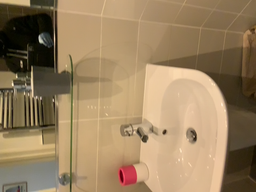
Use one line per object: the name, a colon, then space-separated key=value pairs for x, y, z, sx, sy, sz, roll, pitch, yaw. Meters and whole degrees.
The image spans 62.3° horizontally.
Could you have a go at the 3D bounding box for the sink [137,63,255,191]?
sink: x=0.220 y=0.170 z=0.810 sx=0.450 sy=0.150 sz=0.540 roll=-150 pitch=61 yaw=-62
